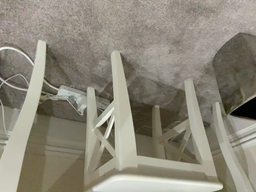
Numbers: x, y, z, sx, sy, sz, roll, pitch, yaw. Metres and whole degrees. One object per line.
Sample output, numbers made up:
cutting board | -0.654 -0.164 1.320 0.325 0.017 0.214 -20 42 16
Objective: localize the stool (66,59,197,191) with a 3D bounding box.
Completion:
stool | 0.000 0.150 0.880 0.410 0.460 0.230 15 142 -27

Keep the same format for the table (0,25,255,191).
table | -0.020 0.340 0.880 1.010 0.760 0.530 15 142 -27
